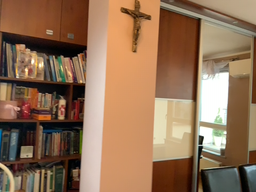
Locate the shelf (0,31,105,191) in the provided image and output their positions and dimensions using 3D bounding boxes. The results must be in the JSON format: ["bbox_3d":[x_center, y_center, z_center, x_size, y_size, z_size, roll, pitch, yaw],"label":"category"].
[{"bbox_3d":[-0.750,0.360,1.970,0.900,1.670,0.390,3,-1,-29],"label":"shelf"}]
